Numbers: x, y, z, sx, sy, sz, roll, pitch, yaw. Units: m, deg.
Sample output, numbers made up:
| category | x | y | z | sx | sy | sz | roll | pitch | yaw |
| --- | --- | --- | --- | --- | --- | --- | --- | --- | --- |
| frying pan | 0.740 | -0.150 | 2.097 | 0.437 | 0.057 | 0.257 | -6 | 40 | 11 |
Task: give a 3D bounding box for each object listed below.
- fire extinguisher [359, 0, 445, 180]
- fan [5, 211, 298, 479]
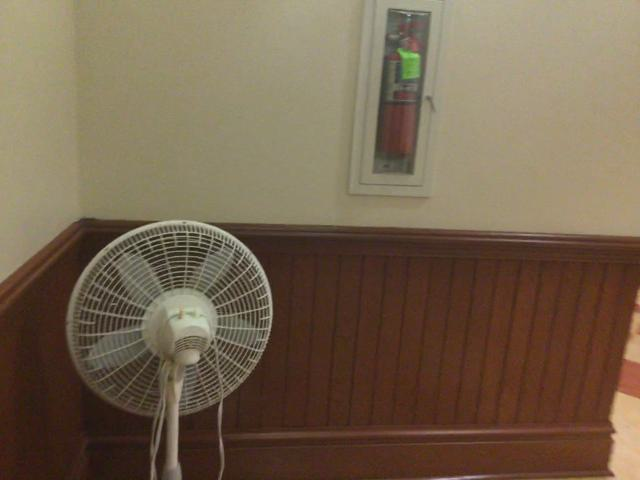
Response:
| category | x | y | z | sx | sy | sz | roll | pitch | yaw |
| --- | --- | --- | --- | --- | --- | --- | --- | --- | --- |
| fire extinguisher | 0.260 | -0.490 | 1.890 | 0.220 | 0.570 | 0.170 | 0 | 9 | -6 |
| fan | -0.390 | 0.510 | 1.450 | 0.540 | 1.110 | 0.530 | -1 | 9 | -16 |
